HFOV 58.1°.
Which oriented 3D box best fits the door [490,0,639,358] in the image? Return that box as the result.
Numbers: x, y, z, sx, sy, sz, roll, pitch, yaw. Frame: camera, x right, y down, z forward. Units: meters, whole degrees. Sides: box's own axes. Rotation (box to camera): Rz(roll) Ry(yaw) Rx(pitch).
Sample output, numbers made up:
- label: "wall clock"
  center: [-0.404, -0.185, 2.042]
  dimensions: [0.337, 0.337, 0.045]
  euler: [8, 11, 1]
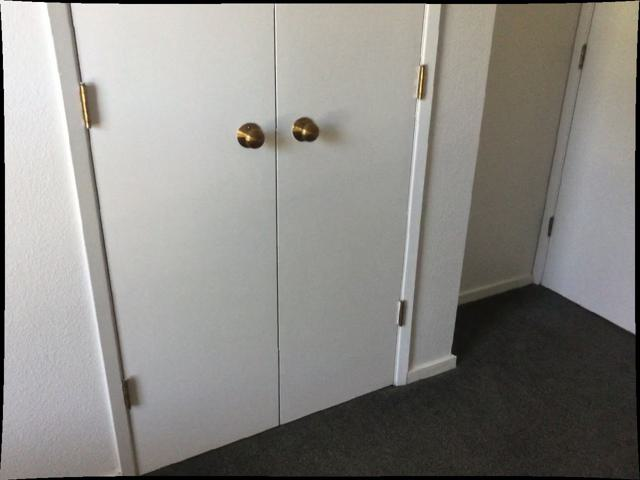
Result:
- label: "door"
  center: [1.188, -0.541, 2.170]
  dimensions: [0.120, 1.912, 0.870]
  euler: [-13, 31, -30]

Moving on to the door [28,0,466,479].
- label: "door"
  center: [-0.120, -0.371, 1.450]
  dimensions: [1.039, 2.093, 0.160]
  euler: [-11, 30, -27]
